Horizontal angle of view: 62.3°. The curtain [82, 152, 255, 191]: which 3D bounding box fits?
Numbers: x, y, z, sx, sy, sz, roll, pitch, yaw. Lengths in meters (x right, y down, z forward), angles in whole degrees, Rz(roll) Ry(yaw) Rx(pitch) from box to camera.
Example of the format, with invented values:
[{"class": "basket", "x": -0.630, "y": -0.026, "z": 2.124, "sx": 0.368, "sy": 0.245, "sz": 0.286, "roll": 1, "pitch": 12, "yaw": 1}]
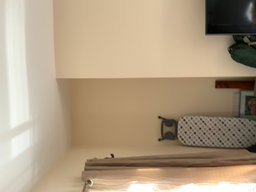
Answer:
[{"class": "curtain", "x": 0.360, "y": 0.610, "z": 1.710, "sx": 0.290, "sy": 1.400, "sz": 0.210, "roll": -99, "pitch": 9, "yaw": -87}]
